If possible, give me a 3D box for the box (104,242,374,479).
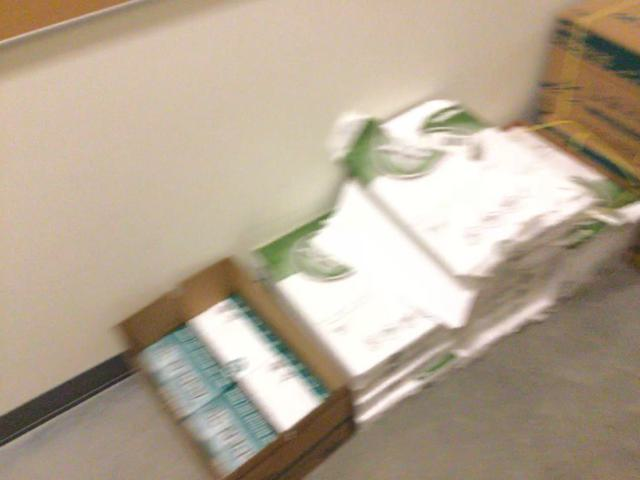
[{"bbox_3d":[-0.180,0.310,1.280,0.370,0.260,0.470,-30,48,-17],"label":"box"}]

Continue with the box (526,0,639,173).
[{"bbox_3d":[0.850,-0.430,1.480,0.350,0.300,0.470,-30,48,-17],"label":"box"}]
